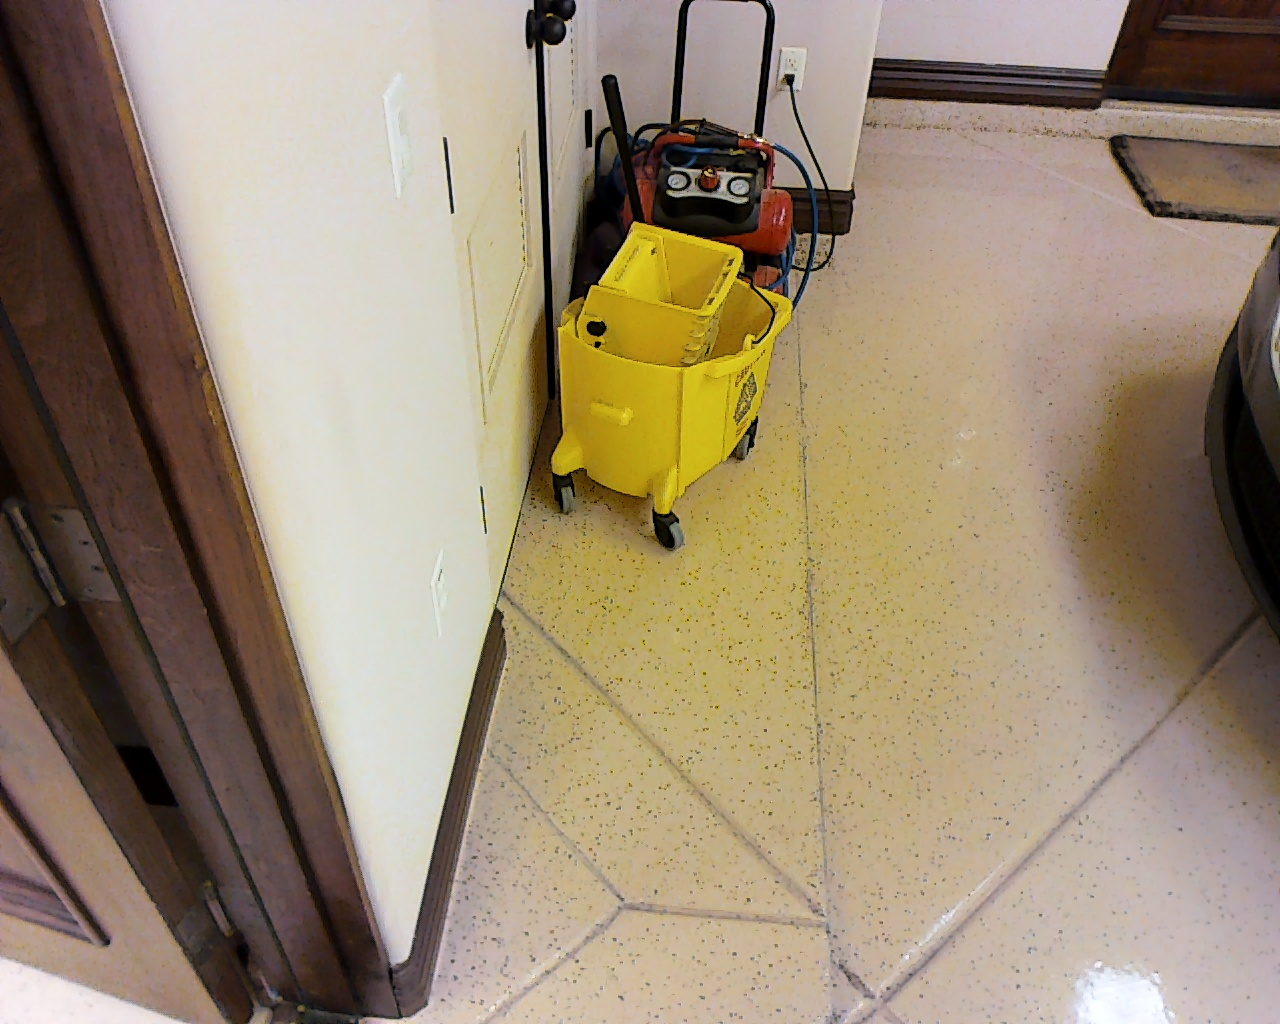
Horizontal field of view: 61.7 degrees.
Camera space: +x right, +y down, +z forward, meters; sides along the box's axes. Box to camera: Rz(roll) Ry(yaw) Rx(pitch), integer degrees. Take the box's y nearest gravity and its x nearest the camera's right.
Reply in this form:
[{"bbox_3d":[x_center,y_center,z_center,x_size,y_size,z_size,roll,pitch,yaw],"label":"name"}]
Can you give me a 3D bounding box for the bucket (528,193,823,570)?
[{"bbox_3d":[0.090,-0.290,2.300,0.520,0.520,0.570,7,43,5],"label":"bucket"}]
